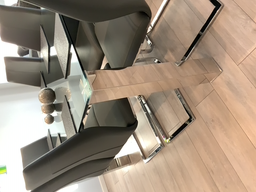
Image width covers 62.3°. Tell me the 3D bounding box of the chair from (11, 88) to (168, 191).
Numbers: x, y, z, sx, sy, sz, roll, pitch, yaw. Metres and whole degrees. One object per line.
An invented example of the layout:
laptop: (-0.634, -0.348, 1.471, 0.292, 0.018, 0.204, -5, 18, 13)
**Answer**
chair: (-0.310, 0.370, 1.710, 0.590, 1.010, 0.460, 65, 148, 25)

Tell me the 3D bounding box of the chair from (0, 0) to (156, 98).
chair: (-0.390, -0.400, 1.630, 0.550, 1.000, 0.410, 65, 148, 25)

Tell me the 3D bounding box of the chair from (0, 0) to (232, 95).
chair: (-0.100, -0.400, 1.090, 0.440, 1.020, 0.520, 67, 149, 23)
